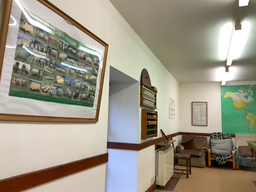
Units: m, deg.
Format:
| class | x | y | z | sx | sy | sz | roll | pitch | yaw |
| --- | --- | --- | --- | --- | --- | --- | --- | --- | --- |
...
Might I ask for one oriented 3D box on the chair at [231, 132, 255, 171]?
| class | x | y | z | sx | sy | sz | roll | pitch | yaw |
| --- | --- | --- | --- | --- | --- | --- | --- | --- | --- |
| chair | 3.280 | 1.500 | 5.870 | 0.710 | 0.920 | 0.780 | -1 | -7 | 21 |
